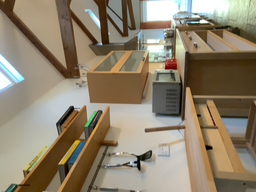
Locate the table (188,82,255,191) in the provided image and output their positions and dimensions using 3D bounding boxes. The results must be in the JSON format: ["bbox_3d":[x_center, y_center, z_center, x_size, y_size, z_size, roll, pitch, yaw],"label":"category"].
[{"bbox_3d":[0.850,0.330,1.210,1.240,0.850,0.420,-69,-23,-64],"label":"table"}]

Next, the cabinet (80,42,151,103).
[{"bbox_3d":[-0.070,-0.400,2.940,1.340,0.680,0.440,-69,-23,-64],"label":"cabinet"}]
